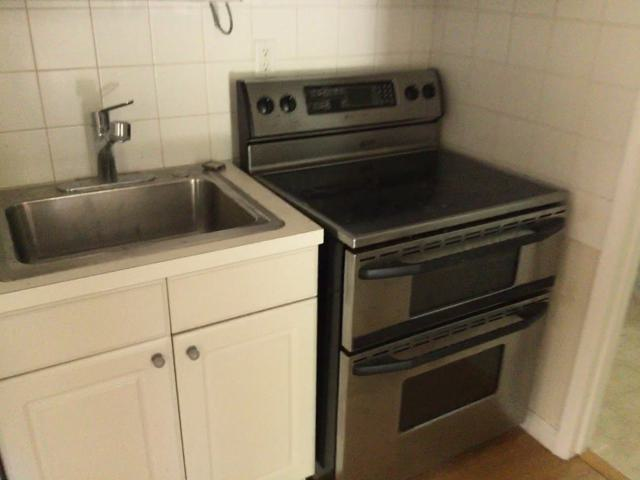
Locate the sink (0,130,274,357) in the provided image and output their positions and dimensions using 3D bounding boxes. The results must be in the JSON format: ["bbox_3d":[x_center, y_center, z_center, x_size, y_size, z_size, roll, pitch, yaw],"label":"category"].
[{"bbox_3d":[-0.550,-0.040,1.490,0.700,0.320,0.490,-14,25,-28],"label":"sink"}]
